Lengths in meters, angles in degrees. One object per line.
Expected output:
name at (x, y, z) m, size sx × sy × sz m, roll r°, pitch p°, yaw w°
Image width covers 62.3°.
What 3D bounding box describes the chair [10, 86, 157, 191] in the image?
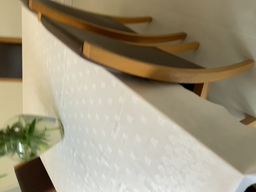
chair at (-0.310, 0.310, 1.540) m, size 0.390 × 0.880 × 0.540 m, roll 43°, pitch 129°, yaw 37°
